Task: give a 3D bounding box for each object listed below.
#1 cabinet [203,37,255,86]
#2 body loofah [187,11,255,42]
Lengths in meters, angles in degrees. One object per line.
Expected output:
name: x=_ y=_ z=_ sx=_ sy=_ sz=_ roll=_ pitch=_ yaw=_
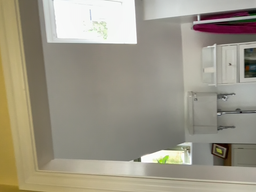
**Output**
cabinet: x=1.460 y=-0.380 z=2.320 sx=0.380 sy=1.160 sz=0.490 roll=-27 pitch=-65 yaw=-76
body loofah: x=1.230 y=-0.750 z=2.270 sx=0.350 sy=1.140 sz=0.220 roll=-33 pitch=-59 yaw=-75
